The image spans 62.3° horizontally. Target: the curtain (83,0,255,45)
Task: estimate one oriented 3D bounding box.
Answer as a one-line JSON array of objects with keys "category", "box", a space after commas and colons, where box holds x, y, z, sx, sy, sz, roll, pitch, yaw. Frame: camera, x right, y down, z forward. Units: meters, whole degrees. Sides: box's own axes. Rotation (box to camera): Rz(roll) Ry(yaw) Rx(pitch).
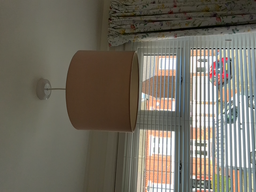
[{"category": "curtain", "box": [0.930, -0.590, 1.560, 0.180, 2.520, 0.360, 64, -151, -73]}]
